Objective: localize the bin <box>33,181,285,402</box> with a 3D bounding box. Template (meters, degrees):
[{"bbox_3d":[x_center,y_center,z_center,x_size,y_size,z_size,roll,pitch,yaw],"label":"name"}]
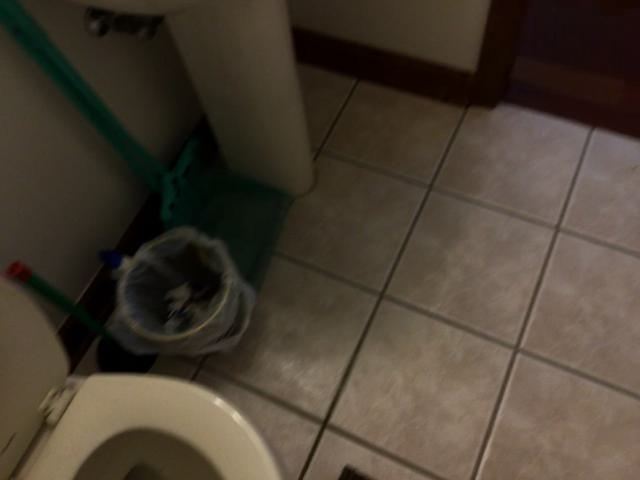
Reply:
[{"bbox_3d":[-0.310,0.110,1.200,0.340,0.260,0.280,21,70,18],"label":"bin"}]

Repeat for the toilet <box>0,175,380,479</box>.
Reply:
[{"bbox_3d":[-0.350,0.320,0.810,0.670,0.780,0.510,21,70,18],"label":"toilet"}]
